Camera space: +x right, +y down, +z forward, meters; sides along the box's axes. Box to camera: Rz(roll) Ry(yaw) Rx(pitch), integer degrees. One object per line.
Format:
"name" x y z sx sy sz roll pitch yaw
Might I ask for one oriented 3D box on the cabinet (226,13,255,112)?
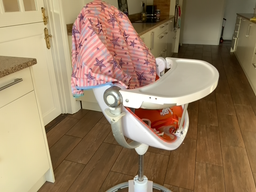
"cabinet" 2.260 -0.820 3.580 0.620 0.930 3.340 7 25 16
